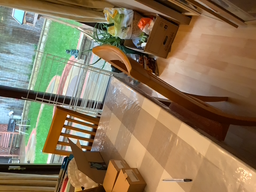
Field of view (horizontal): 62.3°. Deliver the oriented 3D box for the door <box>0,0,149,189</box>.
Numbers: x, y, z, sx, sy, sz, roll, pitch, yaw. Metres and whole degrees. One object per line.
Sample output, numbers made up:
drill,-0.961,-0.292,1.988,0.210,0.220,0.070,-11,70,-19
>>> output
door,-0.880,0.150,2.290,0.130,1.910,1.910,39,114,56
